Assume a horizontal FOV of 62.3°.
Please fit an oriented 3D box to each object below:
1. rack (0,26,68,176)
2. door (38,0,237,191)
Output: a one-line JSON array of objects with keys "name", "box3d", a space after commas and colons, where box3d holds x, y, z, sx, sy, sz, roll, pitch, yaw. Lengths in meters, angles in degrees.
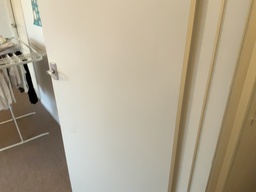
[{"name": "rack", "box3d": [-1.230, -0.080, 2.040, 0.680, 0.920, 1.300, -20, 33, -34]}, {"name": "door", "box3d": [-0.060, -0.050, 0.910, 0.820, 1.900, 0.070, 19, 33, 33]}]
